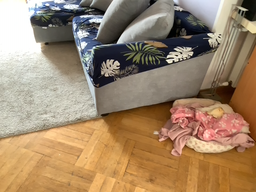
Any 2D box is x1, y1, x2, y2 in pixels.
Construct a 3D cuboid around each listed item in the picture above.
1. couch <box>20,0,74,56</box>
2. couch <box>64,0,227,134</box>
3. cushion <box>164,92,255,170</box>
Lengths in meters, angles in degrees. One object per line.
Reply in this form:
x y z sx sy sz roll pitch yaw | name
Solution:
-1.090 -1.170 2.880 0.500 0.790 1.040 -9 42 -16 | couch
-0.150 -0.830 2.550 1.020 0.800 2.450 -9 42 -15 | couch
0.680 0.250 1.750 0.550 0.180 0.550 -10 42 -17 | cushion
